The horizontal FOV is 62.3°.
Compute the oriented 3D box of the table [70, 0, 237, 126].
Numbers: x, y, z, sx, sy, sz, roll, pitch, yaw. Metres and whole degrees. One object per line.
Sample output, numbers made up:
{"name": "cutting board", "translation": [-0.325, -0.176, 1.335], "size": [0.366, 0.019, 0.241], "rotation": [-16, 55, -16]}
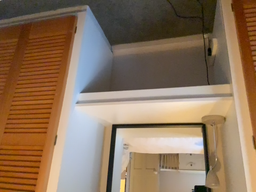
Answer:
{"name": "table", "translation": [0.170, -0.230, 1.460], "size": [0.860, 0.770, 0.510], "rotation": [-2, 158, 14]}
